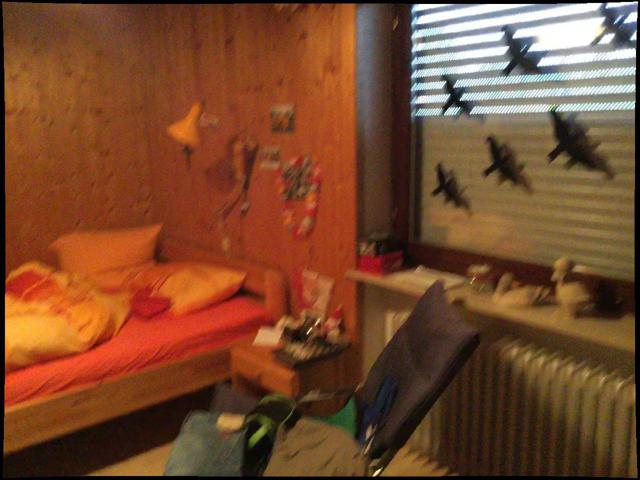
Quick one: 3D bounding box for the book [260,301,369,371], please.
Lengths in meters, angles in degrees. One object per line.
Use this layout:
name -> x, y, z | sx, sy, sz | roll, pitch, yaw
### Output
book -> -0.020, 0.390, 2.420 | 0.380, 0.130, 0.250 | -12, 16, -39

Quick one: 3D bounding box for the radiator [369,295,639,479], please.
radiator -> 0.859, 0.711, 1.900 | 0.250, 0.651, 1.709 | -12, 16, -39

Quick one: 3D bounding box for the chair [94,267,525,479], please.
chair -> -0.010, 0.621, 1.850 | 1.029, 0.891, 0.770 | -1, 13, 2
